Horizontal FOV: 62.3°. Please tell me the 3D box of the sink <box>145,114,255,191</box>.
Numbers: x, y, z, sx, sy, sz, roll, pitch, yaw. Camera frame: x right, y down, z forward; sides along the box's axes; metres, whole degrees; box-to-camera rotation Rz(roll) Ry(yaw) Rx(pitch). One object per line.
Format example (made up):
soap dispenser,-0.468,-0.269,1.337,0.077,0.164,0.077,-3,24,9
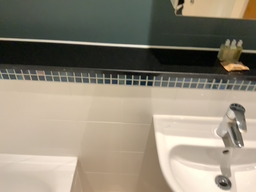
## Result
sink,0.360,0.300,0.780,0.560,0.200,0.420,3,40,-1
